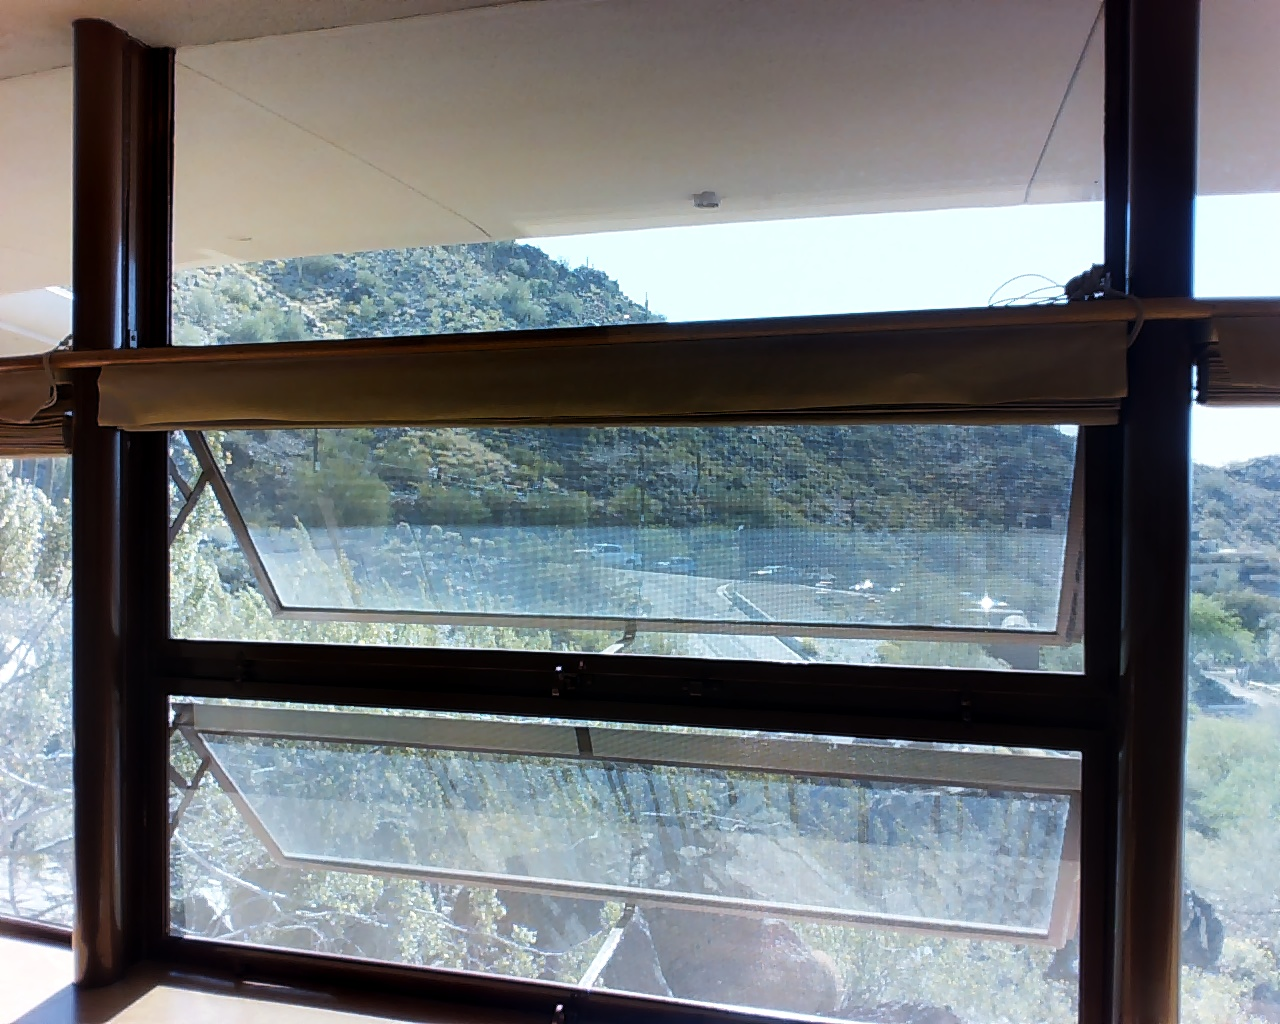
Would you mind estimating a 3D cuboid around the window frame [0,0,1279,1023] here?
[{"bbox_3d":[0.480,0.080,1.200,4.809,1.380,0.390,0,0,10],"label":"window frame"}]

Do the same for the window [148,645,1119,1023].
[{"bbox_3d":[-0.070,0.400,1.240,1.130,0.420,0.130,1,1,19],"label":"window"}]
